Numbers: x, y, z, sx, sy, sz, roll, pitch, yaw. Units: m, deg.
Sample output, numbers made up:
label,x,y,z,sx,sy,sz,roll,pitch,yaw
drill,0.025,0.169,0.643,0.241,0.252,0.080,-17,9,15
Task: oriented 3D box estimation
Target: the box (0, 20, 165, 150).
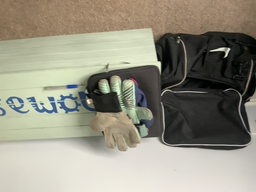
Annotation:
label,x,y,z,sx,sy,sz,roll,pitch,yaw
box,-0.260,-0.050,0.940,0.790,0.390,0.370,-4,128,4
